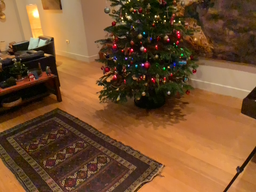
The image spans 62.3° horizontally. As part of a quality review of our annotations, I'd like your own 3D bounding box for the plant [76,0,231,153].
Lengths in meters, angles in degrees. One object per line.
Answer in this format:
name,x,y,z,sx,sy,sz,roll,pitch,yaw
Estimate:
plant,0.420,-0.680,2.980,1.280,2.000,1.610,18,33,38
